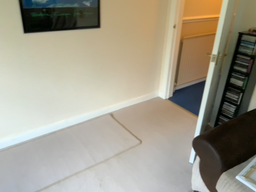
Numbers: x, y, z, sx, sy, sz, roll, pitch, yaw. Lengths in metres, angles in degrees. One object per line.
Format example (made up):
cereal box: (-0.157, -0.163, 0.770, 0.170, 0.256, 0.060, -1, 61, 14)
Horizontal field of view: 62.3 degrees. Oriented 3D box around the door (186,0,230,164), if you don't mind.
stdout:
door: (0.760, -0.390, 1.860, 0.040, 2.030, 0.710, 13, 30, 19)
